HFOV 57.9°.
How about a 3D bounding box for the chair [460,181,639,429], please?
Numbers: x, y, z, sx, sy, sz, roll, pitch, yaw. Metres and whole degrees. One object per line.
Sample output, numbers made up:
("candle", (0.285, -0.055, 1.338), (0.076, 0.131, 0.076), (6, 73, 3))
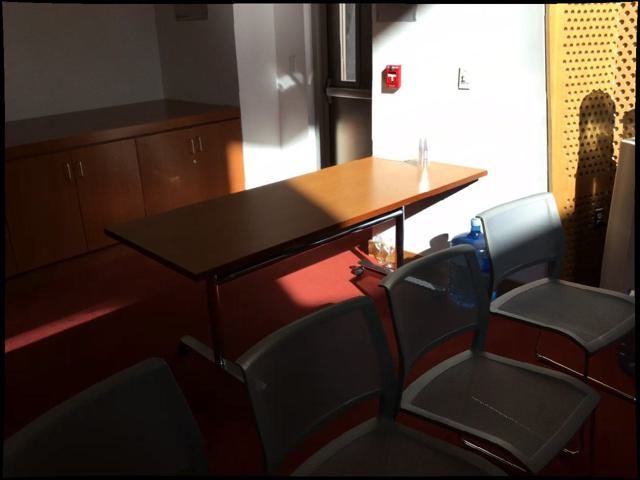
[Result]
("chair", (0.959, 0.200, 2.220), (0.570, 0.641, 0.540), (-25, 27, -31))

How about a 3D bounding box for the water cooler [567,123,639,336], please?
("water cooler", (1.538, -0.050, 2.770), (0.520, 0.901, 0.440), (13, 32, 43))

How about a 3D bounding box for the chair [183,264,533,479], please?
("chair", (0.140, 0.551, 1.450), (0.530, 0.711, 0.600), (13, 32, 43))

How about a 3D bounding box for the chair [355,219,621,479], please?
("chair", (0.529, 0.430, 1.770), (0.520, 0.781, 0.540), (13, 32, 43))
